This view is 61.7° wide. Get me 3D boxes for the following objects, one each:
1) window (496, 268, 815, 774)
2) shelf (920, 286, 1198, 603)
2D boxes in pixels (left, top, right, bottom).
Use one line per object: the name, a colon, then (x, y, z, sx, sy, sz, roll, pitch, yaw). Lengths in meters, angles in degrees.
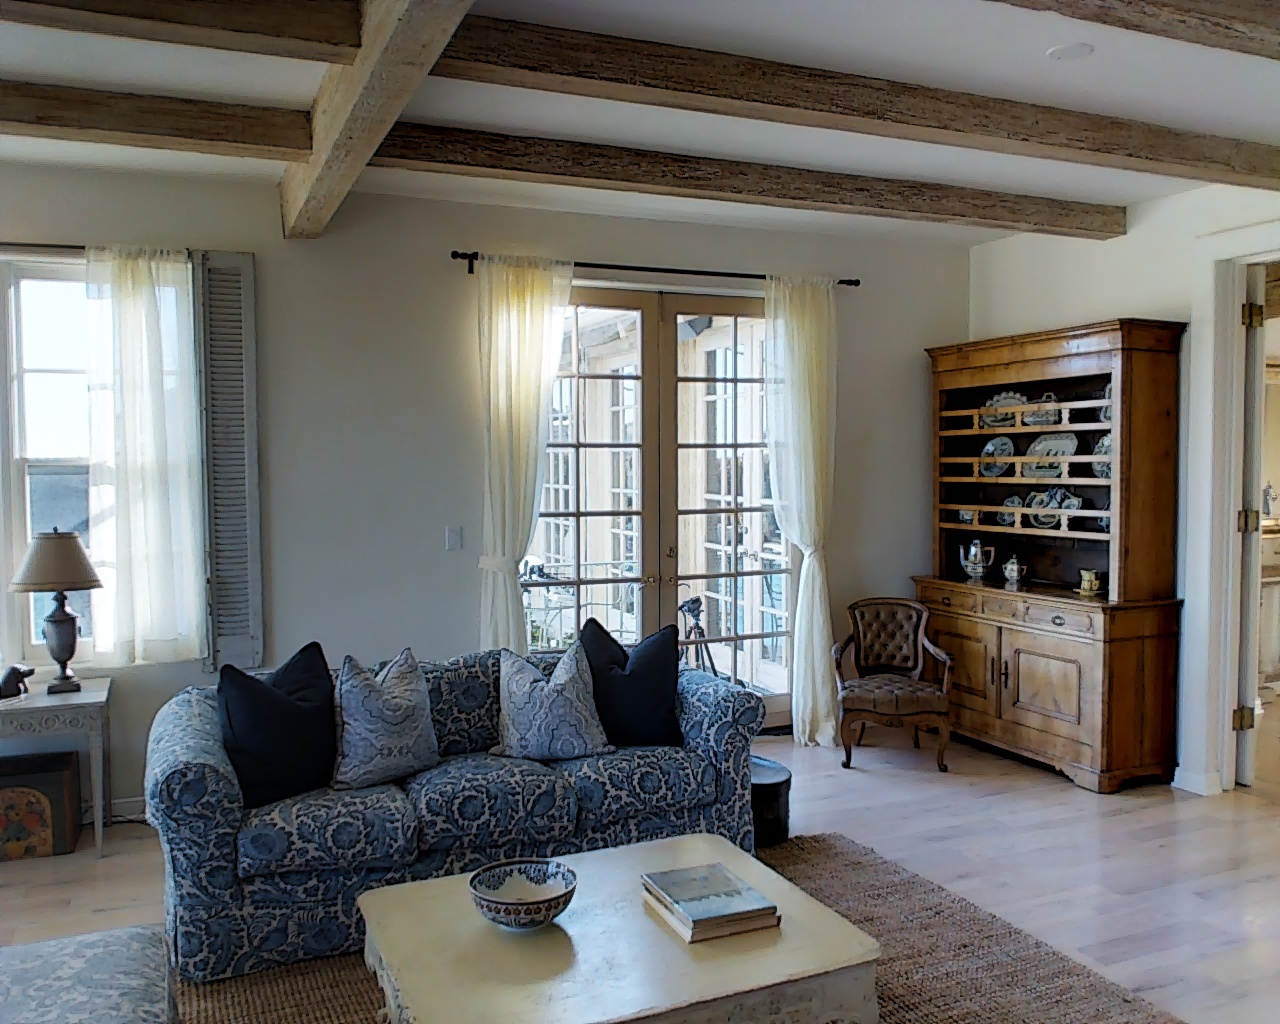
window: (0.130, 0.030, 5.650, 1.750, 2.471, 0.160, -2, 3, -23)
shelf: (2.139, -0.340, 5.690, 0.410, 1.450, 1.520, -2, 3, -23)
